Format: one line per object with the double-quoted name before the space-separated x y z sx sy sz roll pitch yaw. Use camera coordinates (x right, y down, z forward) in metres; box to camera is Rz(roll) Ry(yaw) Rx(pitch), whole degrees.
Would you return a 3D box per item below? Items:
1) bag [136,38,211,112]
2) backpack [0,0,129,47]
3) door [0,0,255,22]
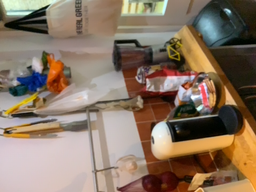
"bag" 0.220 -0.120 1.140 0.200 0.260 0.330 102 160 -54
"backpack" -0.360 -0.500 1.320 0.310 0.680 0.190 101 160 -53
"door" 0.190 -0.750 1.250 0.670 2.020 0.030 100 161 -51
